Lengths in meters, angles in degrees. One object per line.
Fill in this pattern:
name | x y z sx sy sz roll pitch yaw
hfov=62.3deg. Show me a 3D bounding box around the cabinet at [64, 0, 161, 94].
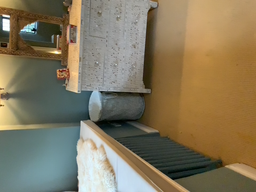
cabinet | -0.190 -0.610 2.390 0.530 0.890 1.100 14 101 61
